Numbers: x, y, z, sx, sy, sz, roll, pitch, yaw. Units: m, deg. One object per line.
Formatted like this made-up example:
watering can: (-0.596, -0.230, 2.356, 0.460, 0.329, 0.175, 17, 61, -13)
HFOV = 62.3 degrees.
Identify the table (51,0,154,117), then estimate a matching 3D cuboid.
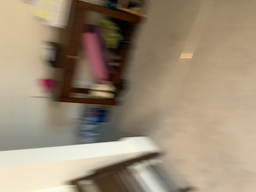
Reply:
table: (-0.320, -0.380, 2.390, 0.370, 0.810, 1.210, 45, 124, 48)

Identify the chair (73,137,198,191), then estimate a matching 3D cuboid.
chair: (0.060, 0.660, 1.790, 0.500, 0.870, 0.310, 49, 127, 47)
